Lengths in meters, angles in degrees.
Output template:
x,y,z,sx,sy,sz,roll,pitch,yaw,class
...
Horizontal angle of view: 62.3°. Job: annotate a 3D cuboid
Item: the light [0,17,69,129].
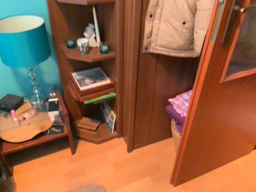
x,y,z,sx,sy,sz,roll,pitch,yaw,class
-0.610,-0.140,1.370,0.310,0.620,0.260,-15,39,-22,light
